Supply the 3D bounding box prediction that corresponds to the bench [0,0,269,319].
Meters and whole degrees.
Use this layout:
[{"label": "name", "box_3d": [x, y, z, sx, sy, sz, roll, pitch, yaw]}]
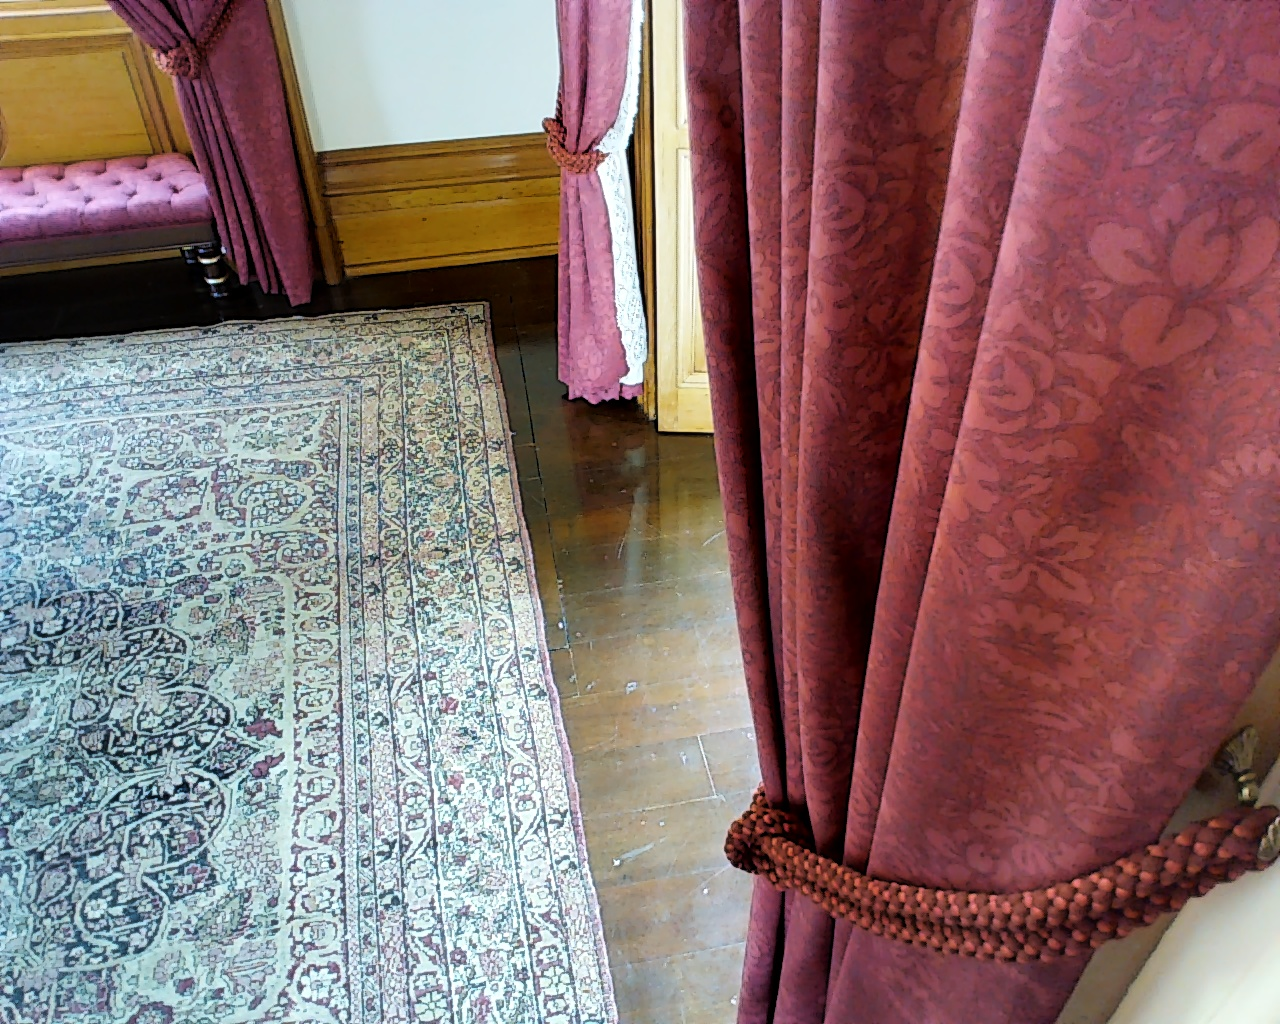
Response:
[{"label": "bench", "box_3d": [-1.880, -1.030, 2.860, 1.480, 0.890, 0.520, -6, 43, -6]}]
